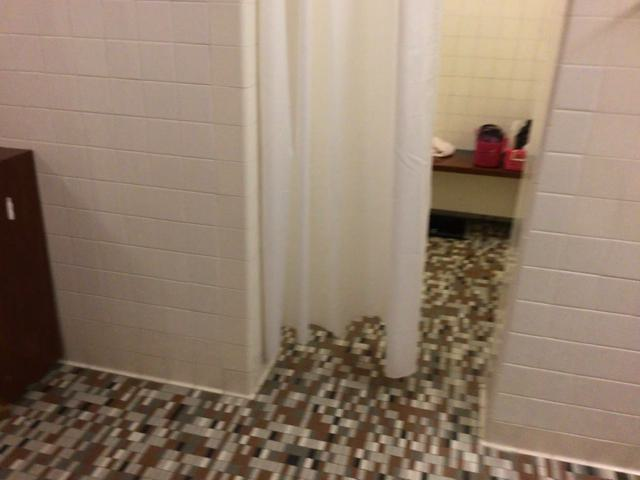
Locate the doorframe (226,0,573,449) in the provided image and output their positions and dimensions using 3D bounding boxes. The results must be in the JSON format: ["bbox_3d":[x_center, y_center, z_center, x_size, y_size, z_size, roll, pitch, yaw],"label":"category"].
[{"bbox_3d":[0.170,-0.090,1.710,0.840,1.470,0.180,6,23,10],"label":"doorframe"}]

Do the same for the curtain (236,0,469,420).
[{"bbox_3d":[0.100,-0.210,1.880,0.600,1.500,0.450,6,23,10],"label":"curtain"}]
